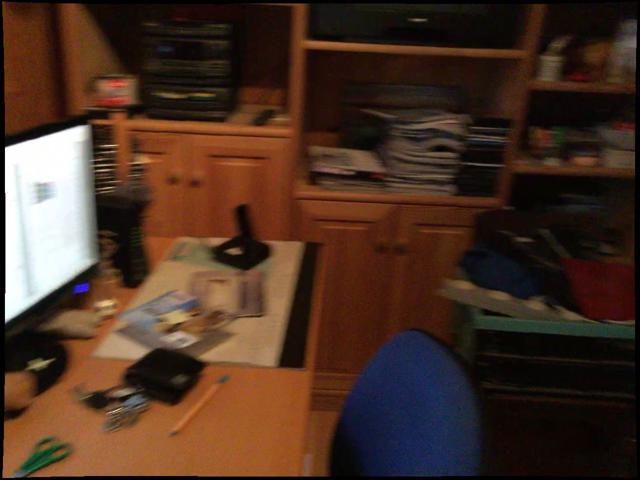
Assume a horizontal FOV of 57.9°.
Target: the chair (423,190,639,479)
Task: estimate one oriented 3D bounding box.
[{"bbox_3d":[0.659,0.350,1.850,0.480,0.831,0.610,4,24,1],"label":"chair"}]
